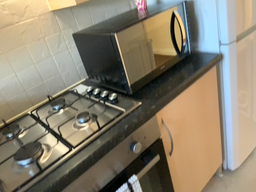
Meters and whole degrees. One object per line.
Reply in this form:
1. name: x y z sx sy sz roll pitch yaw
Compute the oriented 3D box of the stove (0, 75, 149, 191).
1. stove: -0.320 0.100 0.910 0.610 0.040 0.560 -35 33 -31
